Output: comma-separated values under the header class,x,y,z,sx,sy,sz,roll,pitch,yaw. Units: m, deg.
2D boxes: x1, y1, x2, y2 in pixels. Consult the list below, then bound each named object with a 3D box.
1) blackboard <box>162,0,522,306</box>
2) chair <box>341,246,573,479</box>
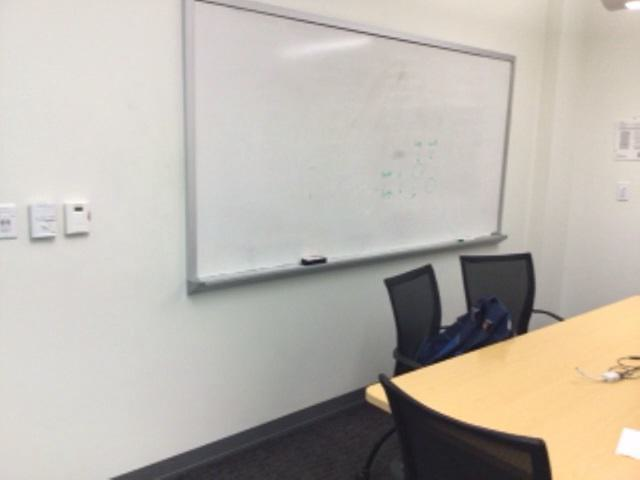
class,x,y,z,sx,sy,sz,roll,pitch,yaw
blackboard,0.300,-0.470,3.000,2.250,1.230,0.170,-8,14,-39
chair,0.550,0.550,2.460,0.670,0.890,0.620,-6,13,-32
